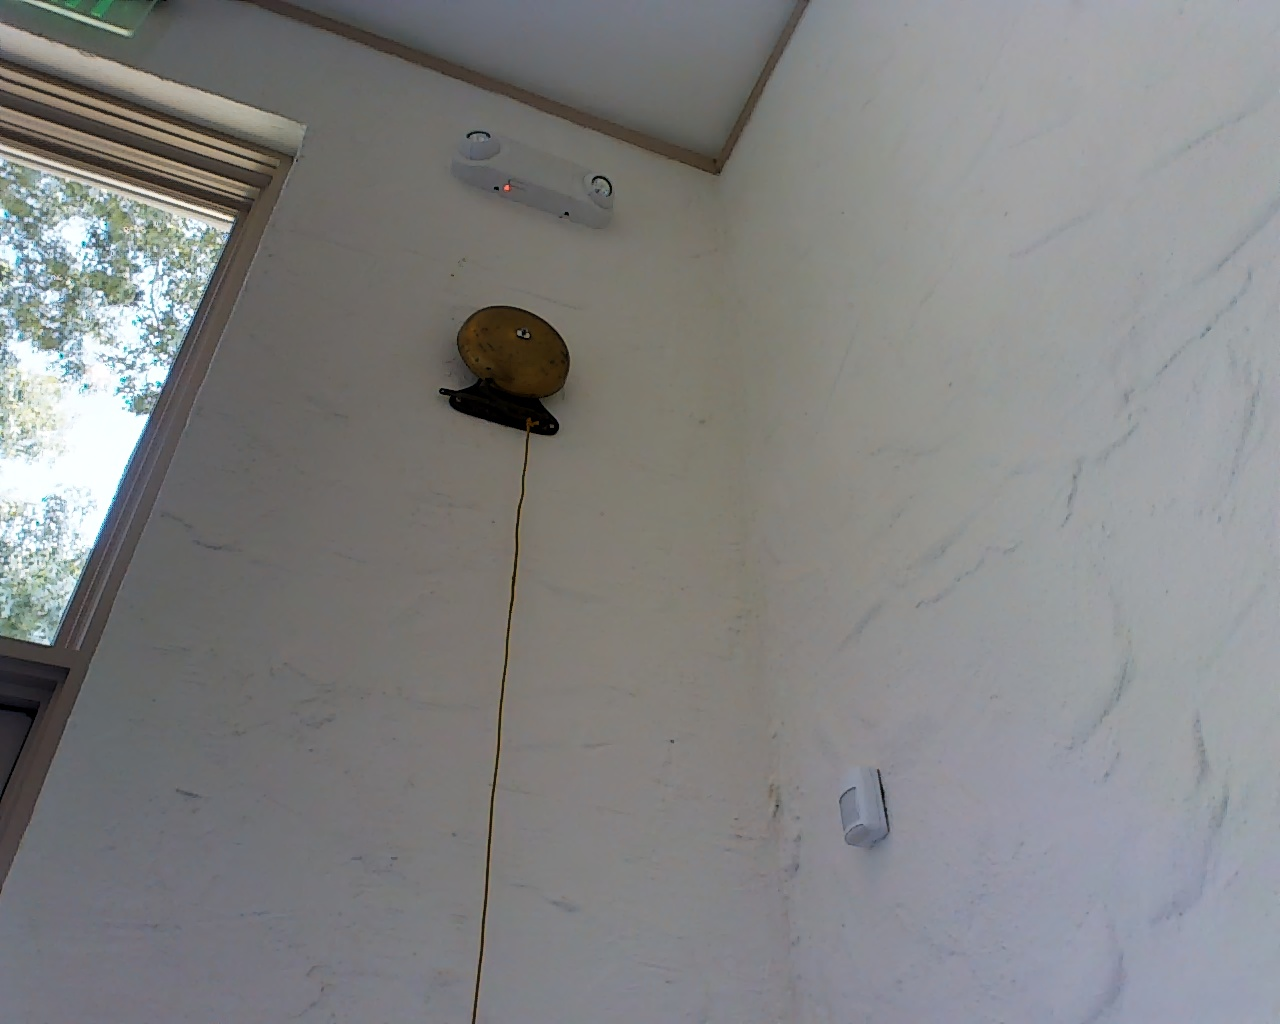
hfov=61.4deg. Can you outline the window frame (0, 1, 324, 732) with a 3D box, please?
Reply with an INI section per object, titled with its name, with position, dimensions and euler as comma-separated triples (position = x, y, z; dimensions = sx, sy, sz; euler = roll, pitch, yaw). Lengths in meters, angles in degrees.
[window frame]
position = -1.150, -0.380, 1.660
dimensions = 1.020, 1.290, 0.210
euler = 15, -44, -16
